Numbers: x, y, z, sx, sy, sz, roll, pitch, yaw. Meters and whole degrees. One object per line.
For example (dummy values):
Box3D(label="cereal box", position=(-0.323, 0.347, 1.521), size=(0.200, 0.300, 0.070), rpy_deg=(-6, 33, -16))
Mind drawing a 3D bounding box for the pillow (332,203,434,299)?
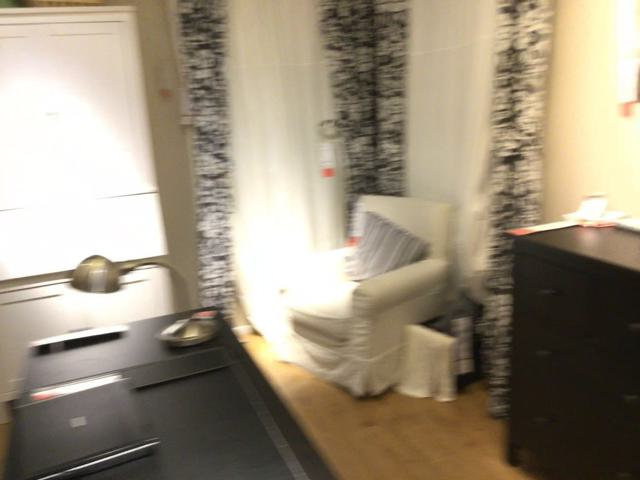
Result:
Box3D(label="pillow", position=(0.340, 0.040, 3.240), size=(0.350, 0.390, 0.540), rpy_deg=(-8, 14, -20))
